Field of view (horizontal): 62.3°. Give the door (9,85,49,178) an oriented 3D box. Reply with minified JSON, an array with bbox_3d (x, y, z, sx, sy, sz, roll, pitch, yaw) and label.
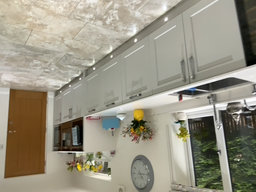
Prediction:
[{"bbox_3d":[-2.300,0.790,5.020,0.760,2.070,0.060,5,166,-33],"label":"door"}]
